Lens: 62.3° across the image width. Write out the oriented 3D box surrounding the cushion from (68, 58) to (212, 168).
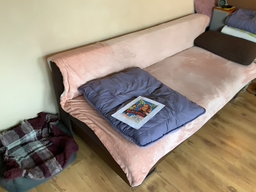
[{"bbox_3d":[0.080,0.030,1.560,0.700,0.190,0.750,-28,46,-37],"label":"cushion"}]
